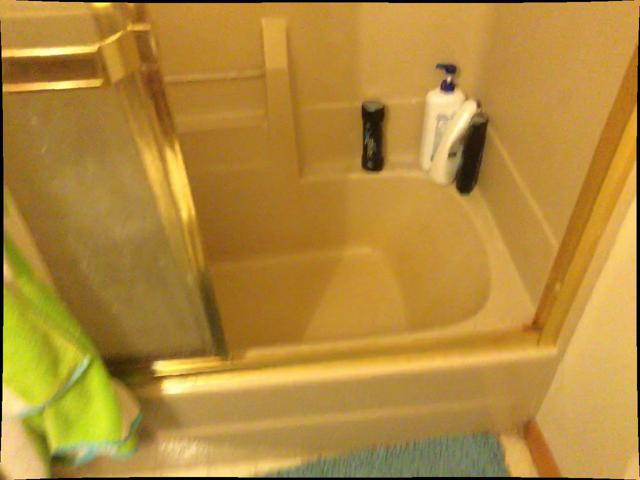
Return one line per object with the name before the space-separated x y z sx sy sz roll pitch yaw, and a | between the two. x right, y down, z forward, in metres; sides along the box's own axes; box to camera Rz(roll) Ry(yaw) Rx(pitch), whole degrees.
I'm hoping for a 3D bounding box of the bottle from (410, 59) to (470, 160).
bottle | 0.320 -0.350 1.560 0.110 0.250 0.090 -6 45 -4
